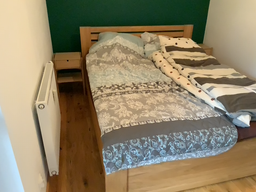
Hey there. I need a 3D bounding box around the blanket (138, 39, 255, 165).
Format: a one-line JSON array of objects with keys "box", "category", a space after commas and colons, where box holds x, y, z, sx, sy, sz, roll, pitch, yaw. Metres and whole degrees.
[{"box": [0.780, -0.190, 2.300, 0.780, 0.400, 2.000, -5, 28, -13], "category": "blanket"}]
